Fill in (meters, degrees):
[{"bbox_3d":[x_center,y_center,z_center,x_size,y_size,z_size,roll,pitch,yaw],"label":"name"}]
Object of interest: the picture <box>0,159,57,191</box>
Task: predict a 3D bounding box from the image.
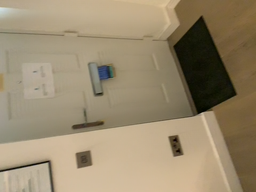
[{"bbox_3d":[-0.520,0.580,1.050,0.020,0.330,0.460,-43,56,58],"label":"picture"}]
